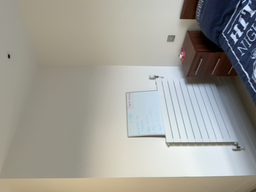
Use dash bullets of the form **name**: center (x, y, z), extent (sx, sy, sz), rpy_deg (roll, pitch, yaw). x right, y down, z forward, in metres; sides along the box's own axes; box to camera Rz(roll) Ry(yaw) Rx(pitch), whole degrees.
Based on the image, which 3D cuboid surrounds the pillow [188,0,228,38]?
- **pillow**: center (0.750, -0.900, 1.950), extent (0.600, 0.150, 0.380), rpy_deg (95, 174, -50)
